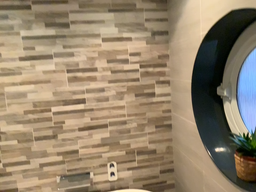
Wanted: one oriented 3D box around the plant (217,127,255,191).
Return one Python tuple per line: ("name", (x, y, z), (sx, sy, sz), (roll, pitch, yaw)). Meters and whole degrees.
("plant", (0.640, 0.340, 1.160), (0.220, 0.280, 0.170), (-5, 8, -8))
